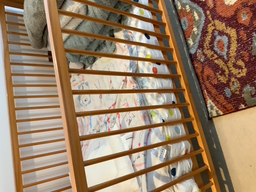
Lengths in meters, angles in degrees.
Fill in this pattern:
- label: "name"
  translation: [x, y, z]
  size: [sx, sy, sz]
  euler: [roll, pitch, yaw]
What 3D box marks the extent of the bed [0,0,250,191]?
- label: "bed"
  translation: [-0.190, -0.050, 1.160]
  size: [0.900, 0.840, 1.630]
  euler: [-27, 71, 46]
